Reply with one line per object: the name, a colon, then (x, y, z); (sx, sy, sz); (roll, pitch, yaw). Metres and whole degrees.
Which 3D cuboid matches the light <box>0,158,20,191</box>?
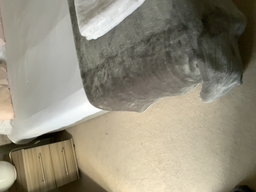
light: (-1.090, 0.680, 1.770); (0.280, 0.220, 0.230); (-22, 79, 38)
